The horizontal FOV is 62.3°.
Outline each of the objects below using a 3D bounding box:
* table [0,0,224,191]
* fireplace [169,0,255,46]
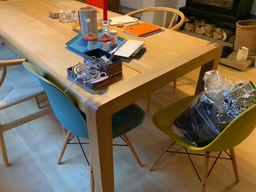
[{"bbox_3d":[-0.460,-0.260,1.770,0.930,0.720,1.980,-28,44,-34],"label":"table"},{"bbox_3d":[1.210,-1.330,3.090,0.510,0.820,1.010,-29,45,-35],"label":"fireplace"}]
